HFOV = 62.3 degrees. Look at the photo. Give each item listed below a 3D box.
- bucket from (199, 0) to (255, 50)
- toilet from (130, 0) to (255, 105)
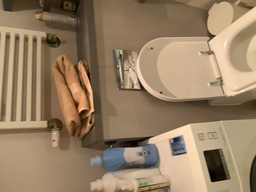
[{"bbox_3d":[0.700,-0.500,1.390,0.260,0.300,0.250,-38,55,57],"label":"bucket"},{"bbox_3d":[0.540,-0.220,1.030,0.550,0.870,0.380,-35,57,58],"label":"toilet"}]
